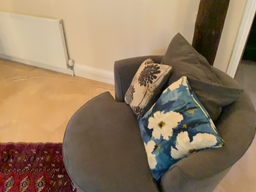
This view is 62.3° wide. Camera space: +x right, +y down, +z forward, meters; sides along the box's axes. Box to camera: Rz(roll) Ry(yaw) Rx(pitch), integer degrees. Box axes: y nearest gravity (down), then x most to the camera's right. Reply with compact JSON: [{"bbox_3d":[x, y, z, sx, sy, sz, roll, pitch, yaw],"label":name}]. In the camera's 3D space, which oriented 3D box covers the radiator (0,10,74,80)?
[{"bbox_3d":[-1.310,-0.670,2.680,1.330,0.730,0.070,14,38,18],"label":"radiator"}]
